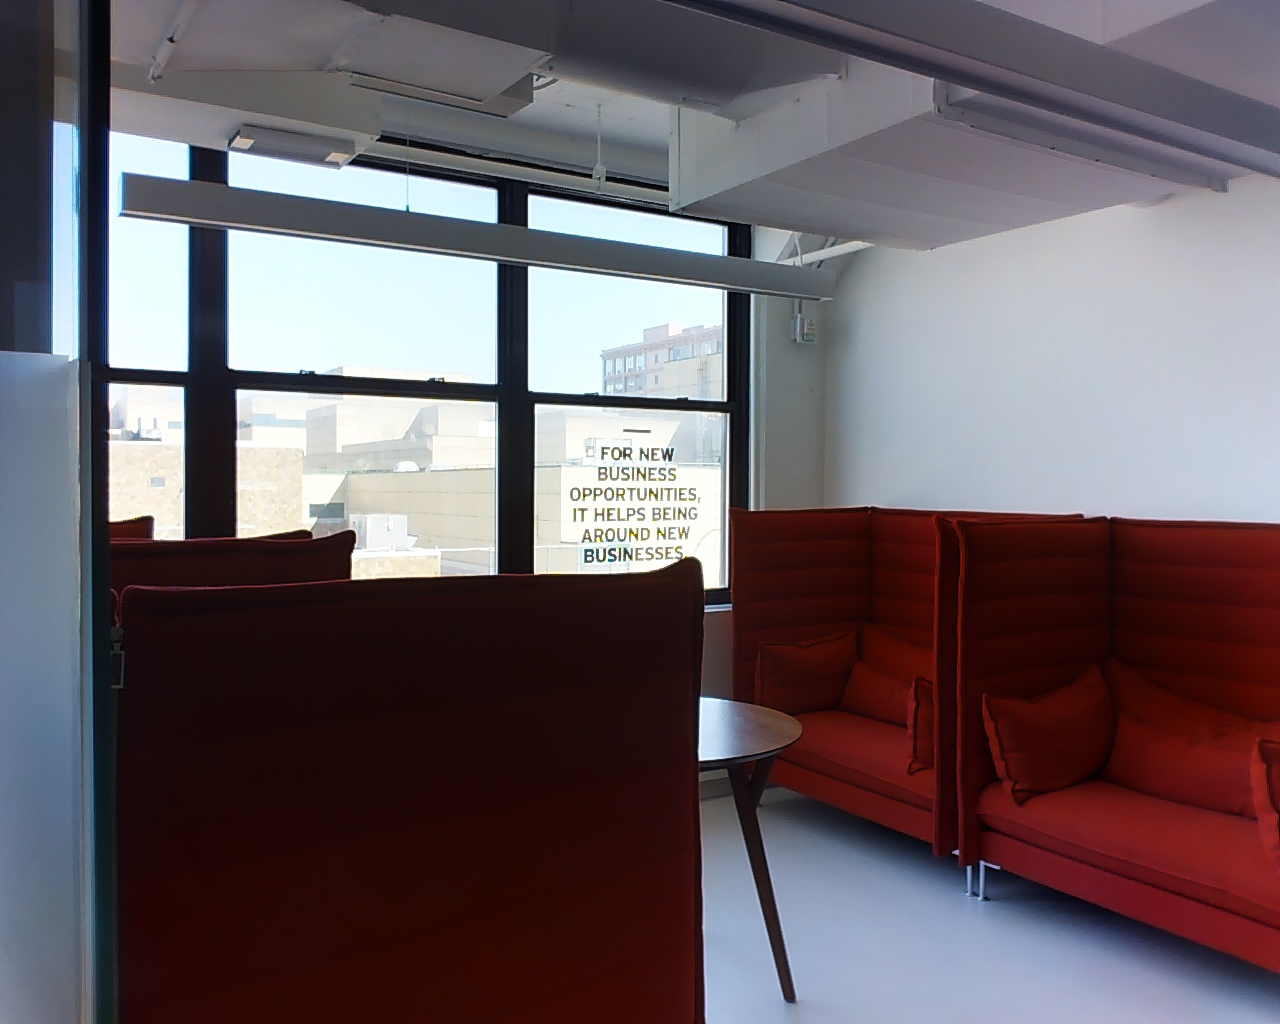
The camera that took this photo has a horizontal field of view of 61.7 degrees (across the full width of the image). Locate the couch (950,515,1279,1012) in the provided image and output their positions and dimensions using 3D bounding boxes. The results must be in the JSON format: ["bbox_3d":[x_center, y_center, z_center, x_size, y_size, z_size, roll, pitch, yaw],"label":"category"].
[{"bbox_3d":[1.790,0.660,3.440,0.880,1.280,1.250,0,1,-32],"label":"couch"}]

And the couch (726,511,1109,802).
[{"bbox_3d":[1.100,0.500,4.480,0.860,0.990,1.310,0,1,-32],"label":"couch"}]
